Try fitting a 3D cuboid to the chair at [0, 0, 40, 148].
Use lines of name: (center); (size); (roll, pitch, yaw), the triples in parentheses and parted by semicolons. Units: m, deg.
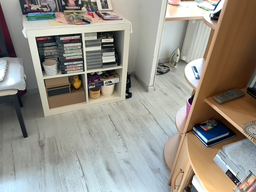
chair: (-1.020, -0.150, 1.520); (0.520, 1.010, 0.480); (-11, 39, -22)
